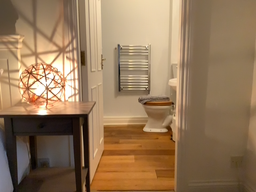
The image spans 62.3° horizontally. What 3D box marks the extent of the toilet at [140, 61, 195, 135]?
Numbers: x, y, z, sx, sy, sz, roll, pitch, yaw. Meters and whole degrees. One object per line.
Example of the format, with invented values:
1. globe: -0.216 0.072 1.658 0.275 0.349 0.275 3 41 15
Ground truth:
1. toilet: 0.500 0.000 2.890 0.630 0.940 0.500 0 9 0

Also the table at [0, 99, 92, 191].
1. table: -0.470 0.390 1.250 0.450 0.690 0.390 -1 9 -3
